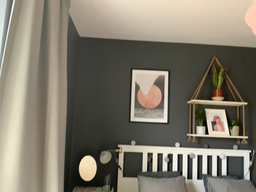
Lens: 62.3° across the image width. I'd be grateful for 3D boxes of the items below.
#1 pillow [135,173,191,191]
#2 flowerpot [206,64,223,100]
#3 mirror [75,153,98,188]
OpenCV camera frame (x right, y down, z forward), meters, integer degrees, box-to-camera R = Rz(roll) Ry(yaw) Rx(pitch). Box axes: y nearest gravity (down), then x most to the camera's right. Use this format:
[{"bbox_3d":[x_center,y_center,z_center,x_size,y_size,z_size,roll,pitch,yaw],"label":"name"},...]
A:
[{"bbox_3d":[0.360,1.020,2.280,0.540,0.270,0.230,7,-6,-5],"label":"pillow"},{"bbox_3d":[1.160,-0.180,2.850,0.160,0.450,0.180,3,-6,0],"label":"flowerpot"},{"bbox_3d":[-0.500,0.900,2.600,0.220,0.340,0.280,3,-6,-2],"label":"mirror"}]
